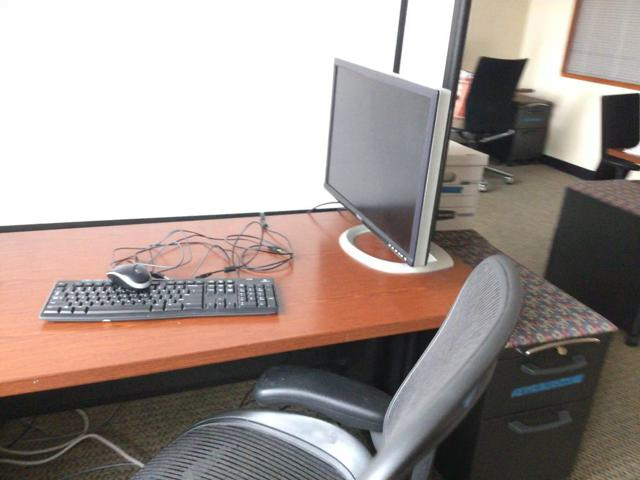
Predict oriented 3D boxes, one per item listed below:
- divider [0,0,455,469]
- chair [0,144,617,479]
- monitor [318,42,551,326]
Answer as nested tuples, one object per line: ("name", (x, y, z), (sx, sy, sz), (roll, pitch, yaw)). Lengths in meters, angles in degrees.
("divider", (-0.430, -0.180, 1.530), (1.530, 1.600, 0.230), (-8, 28, -17))
("chair", (-0.070, 0.490, 0.900), (0.700, 1.020, 0.690), (15, 30, 24))
("monitor", (0.210, -0.180, 1.400), (0.240, 0.480, 0.610), (-8, 28, -17))
